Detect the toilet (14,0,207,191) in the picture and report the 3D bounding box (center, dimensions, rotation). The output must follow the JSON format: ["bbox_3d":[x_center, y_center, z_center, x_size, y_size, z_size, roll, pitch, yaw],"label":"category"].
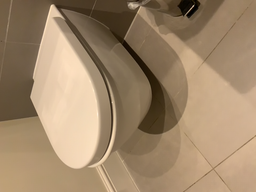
[{"bbox_3d":[-0.100,-0.020,0.840,0.530,0.460,0.370,53,128,29],"label":"toilet"}]
